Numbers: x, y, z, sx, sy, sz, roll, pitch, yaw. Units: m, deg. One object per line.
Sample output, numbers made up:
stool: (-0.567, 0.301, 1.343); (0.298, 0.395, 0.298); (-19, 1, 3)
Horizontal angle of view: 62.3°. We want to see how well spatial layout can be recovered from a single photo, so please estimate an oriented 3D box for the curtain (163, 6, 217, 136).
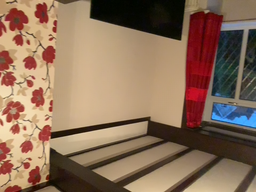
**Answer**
curtain: (0.950, -0.350, 3.260); (0.420, 1.790, 0.530); (10, -172, 39)
